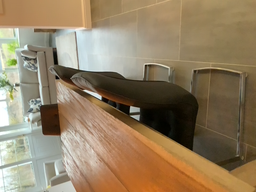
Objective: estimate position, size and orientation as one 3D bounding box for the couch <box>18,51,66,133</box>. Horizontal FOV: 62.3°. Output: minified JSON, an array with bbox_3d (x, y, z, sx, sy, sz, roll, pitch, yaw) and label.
[{"bbox_3d":[-2.330,-0.180,5.760,0.880,0.880,2.020,21,116,57],"label":"couch"}]
